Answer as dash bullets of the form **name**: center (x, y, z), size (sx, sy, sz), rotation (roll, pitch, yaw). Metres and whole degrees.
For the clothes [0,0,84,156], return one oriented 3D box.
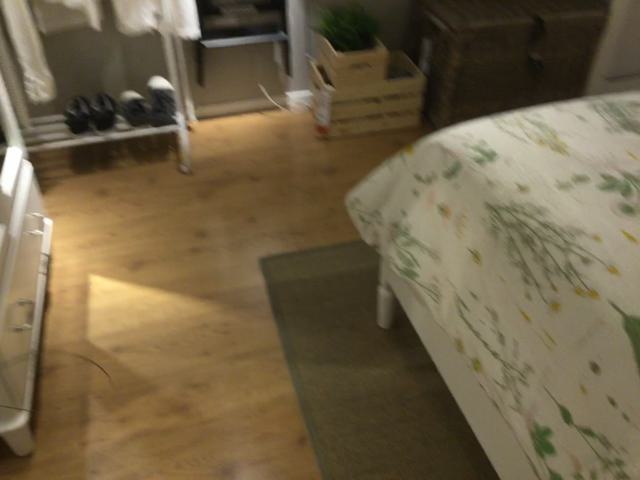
- **clothes**: center (-1.100, -0.830, 1.990), size (0.260, 0.880, 0.560), rotation (-14, 39, -10)
